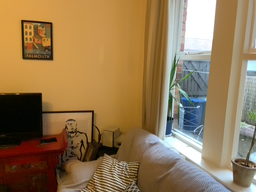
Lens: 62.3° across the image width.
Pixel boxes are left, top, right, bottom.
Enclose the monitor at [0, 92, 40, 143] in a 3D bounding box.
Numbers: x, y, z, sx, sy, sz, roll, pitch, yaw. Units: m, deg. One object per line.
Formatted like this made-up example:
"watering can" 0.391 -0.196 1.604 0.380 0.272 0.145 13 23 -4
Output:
"monitor" -1.380 0.230 2.230 0.820 0.540 0.050 3 9 -19
